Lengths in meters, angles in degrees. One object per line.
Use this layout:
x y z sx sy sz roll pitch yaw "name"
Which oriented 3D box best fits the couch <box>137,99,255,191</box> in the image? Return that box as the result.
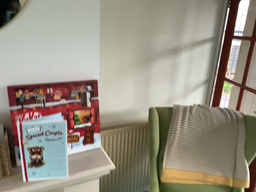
0.450 0.670 1.320 0.790 0.990 0.960 5 18 4 "couch"
